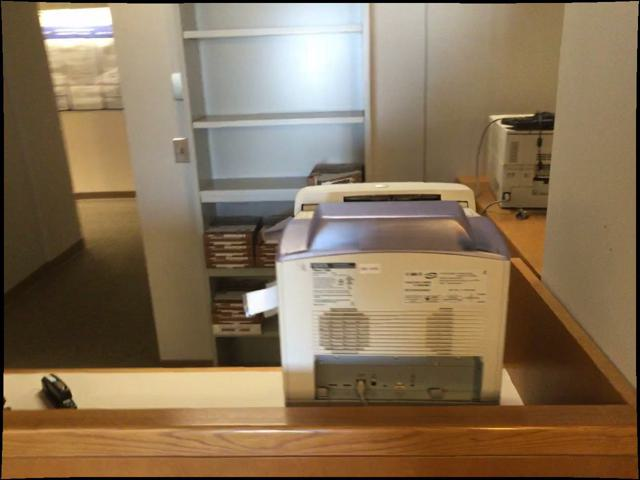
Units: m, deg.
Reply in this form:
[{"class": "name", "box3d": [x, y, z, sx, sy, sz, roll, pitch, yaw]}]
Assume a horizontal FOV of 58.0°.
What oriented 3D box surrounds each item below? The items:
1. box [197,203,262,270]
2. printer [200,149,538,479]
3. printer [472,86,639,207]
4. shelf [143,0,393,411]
[{"class": "box", "box3d": [-0.389, -0.020, 2.540, 0.210, 0.200, 0.280, -3, 20, 4]}, {"class": "printer", "box3d": [0.110, 0.170, 1.310, 0.529, 0.601, 0.650, -3, 20, 4]}, {"class": "printer", "box3d": [0.838, -0.361, 2.100, 0.449, 0.311, 0.540, -3, 20, 4]}, {"class": "shelf", "box3d": [-0.150, -0.211, 2.500, 0.838, 1.934, 0.410, -3, 20, 4]}]
